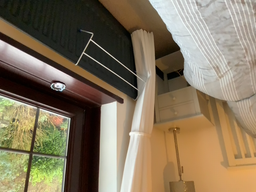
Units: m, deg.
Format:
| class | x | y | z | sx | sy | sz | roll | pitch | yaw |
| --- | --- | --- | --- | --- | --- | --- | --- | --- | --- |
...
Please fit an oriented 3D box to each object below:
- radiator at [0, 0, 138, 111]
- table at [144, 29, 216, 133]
| class | x | y | z | sx | sy | sz | roll | pitch | yaw |
| --- | --- | --- | --- | --- | --- | --- | --- | --- | --- |
| radiator | -0.370 | -0.480 | 1.130 | 0.050 | 0.730 | 1.550 | -16 | 153 | 28 |
| table | 0.460 | -0.110 | 1.960 | 0.430 | 0.770 | 0.410 | -17 | 152 | 31 |
